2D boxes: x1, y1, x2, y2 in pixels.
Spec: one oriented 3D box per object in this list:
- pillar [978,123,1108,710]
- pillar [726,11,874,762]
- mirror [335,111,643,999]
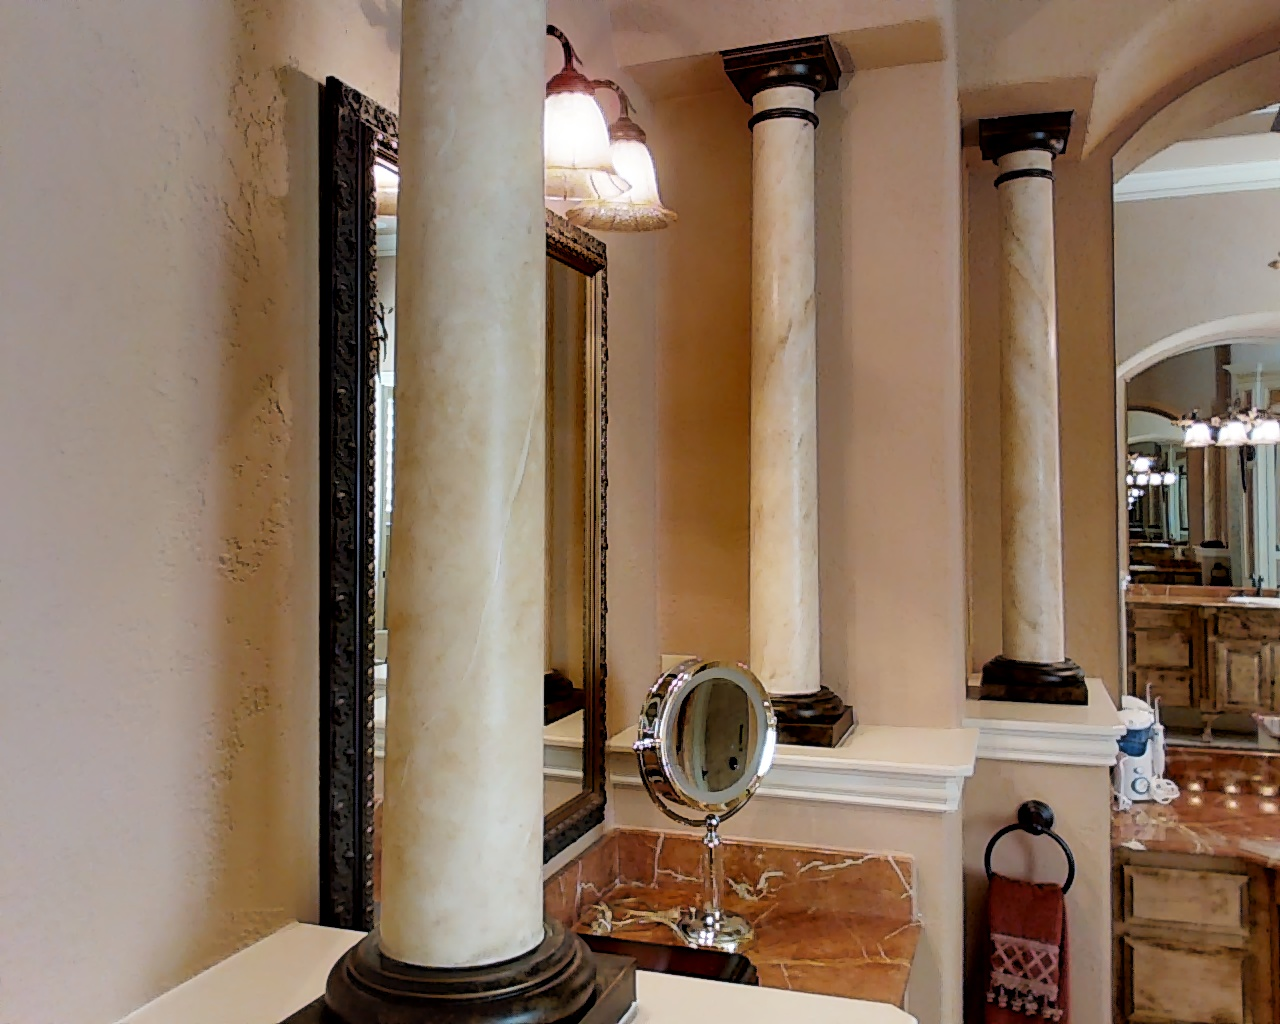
[{"bbox_3d":[0.940,-0.210,2.530,0.270,1.290,0.270,0,-1,18],"label":"pillar"},{"bbox_3d":[0.320,-0.230,2.120,0.240,1.370,0.250,0,-1,21],"label":"pillar"},{"bbox_3d":[-0.170,0.050,1.590,0.070,0.990,0.810,0,-1,21],"label":"mirror"}]
